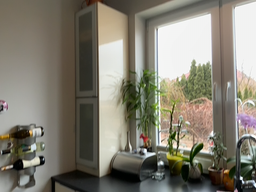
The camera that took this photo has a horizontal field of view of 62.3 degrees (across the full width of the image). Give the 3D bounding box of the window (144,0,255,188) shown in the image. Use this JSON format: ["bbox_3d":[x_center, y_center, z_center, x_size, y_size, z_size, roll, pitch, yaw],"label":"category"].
[{"bbox_3d":[0.720,-0.080,1.690,1.360,1.460,0.080,-2,-2,38],"label":"window"}]
